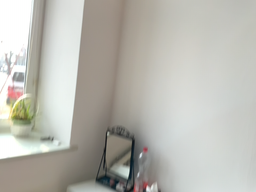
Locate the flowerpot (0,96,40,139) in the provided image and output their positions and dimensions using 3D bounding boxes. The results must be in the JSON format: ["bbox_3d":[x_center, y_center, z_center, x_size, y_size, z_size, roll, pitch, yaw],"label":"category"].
[{"bbox_3d":[-0.920,0.170,1.790,0.260,0.300,0.230,3,6,-37],"label":"flowerpot"}]
